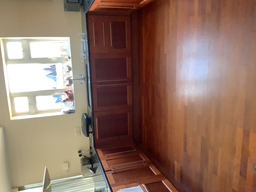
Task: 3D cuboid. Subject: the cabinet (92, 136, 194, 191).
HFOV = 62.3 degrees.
[{"bbox_3d":[0.150,1.410,2.900,2.320,0.900,0.800,-149,56,-69],"label":"cabinet"}]
